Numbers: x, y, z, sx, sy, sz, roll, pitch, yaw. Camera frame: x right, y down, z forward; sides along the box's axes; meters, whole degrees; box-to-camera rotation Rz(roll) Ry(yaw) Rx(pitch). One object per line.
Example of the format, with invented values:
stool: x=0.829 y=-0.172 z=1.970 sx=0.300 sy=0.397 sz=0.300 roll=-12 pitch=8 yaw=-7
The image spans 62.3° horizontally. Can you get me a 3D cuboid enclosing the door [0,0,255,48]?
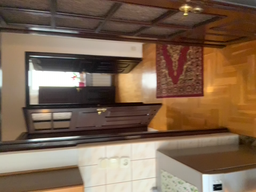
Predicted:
door: x=0.200 y=-0.490 z=1.410 sx=0.880 sy=1.970 sz=0.110 roll=-165 pitch=75 yaw=-70
